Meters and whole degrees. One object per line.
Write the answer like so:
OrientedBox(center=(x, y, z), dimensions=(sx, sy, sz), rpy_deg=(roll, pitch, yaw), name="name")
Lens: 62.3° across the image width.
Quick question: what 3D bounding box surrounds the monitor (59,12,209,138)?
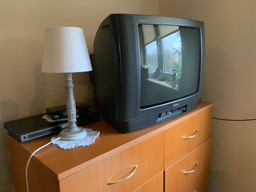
OrientedBox(center=(0.050, -0.140, 1.100), dimensions=(0.600, 0.440, 0.450), rpy_deg=(-13, 17, -42), name="monitor")
